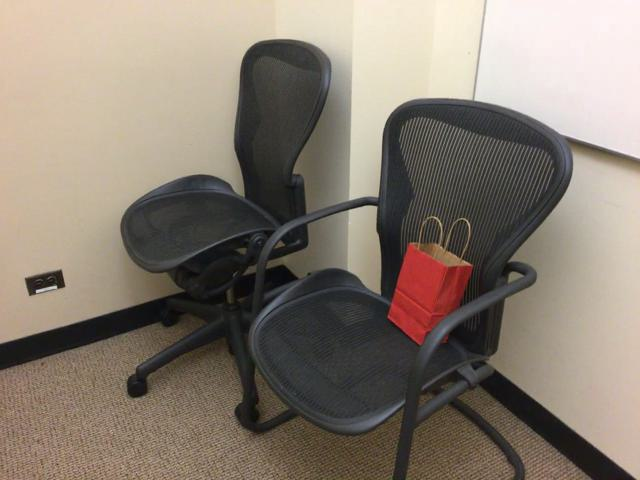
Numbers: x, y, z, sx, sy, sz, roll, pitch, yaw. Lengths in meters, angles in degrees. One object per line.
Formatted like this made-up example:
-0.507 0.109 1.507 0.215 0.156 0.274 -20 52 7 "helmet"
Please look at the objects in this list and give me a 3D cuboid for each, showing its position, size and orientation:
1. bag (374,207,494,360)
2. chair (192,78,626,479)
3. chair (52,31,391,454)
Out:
0.270 0.100 1.420 0.170 0.290 0.190 -14 30 -31 "bag"
0.130 0.170 1.460 0.610 0.980 0.720 -14 30 -31 "chair"
-0.320 -0.070 1.860 0.730 1.060 0.670 -14 30 -31 "chair"
